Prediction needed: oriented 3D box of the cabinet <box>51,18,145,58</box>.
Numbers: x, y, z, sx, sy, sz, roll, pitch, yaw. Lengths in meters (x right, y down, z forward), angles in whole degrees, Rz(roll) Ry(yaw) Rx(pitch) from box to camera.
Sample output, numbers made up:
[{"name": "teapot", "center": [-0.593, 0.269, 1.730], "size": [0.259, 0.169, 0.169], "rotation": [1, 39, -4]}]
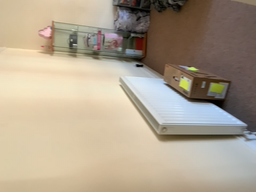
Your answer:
[{"name": "cabinet", "center": [-0.530, -1.020, 3.860], "size": [0.420, 1.620, 0.420], "rotation": [178, 94, -72]}]
